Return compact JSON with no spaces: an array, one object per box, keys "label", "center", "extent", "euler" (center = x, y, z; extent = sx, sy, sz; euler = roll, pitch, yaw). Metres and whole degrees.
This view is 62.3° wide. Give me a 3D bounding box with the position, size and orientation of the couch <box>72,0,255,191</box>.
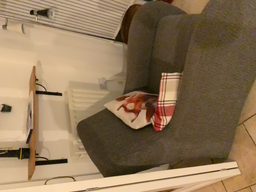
[{"label":"couch","center":[0.230,-0.130,1.350],"extent":[0.770,0.830,1.010],"euler":[27,109,57]}]
